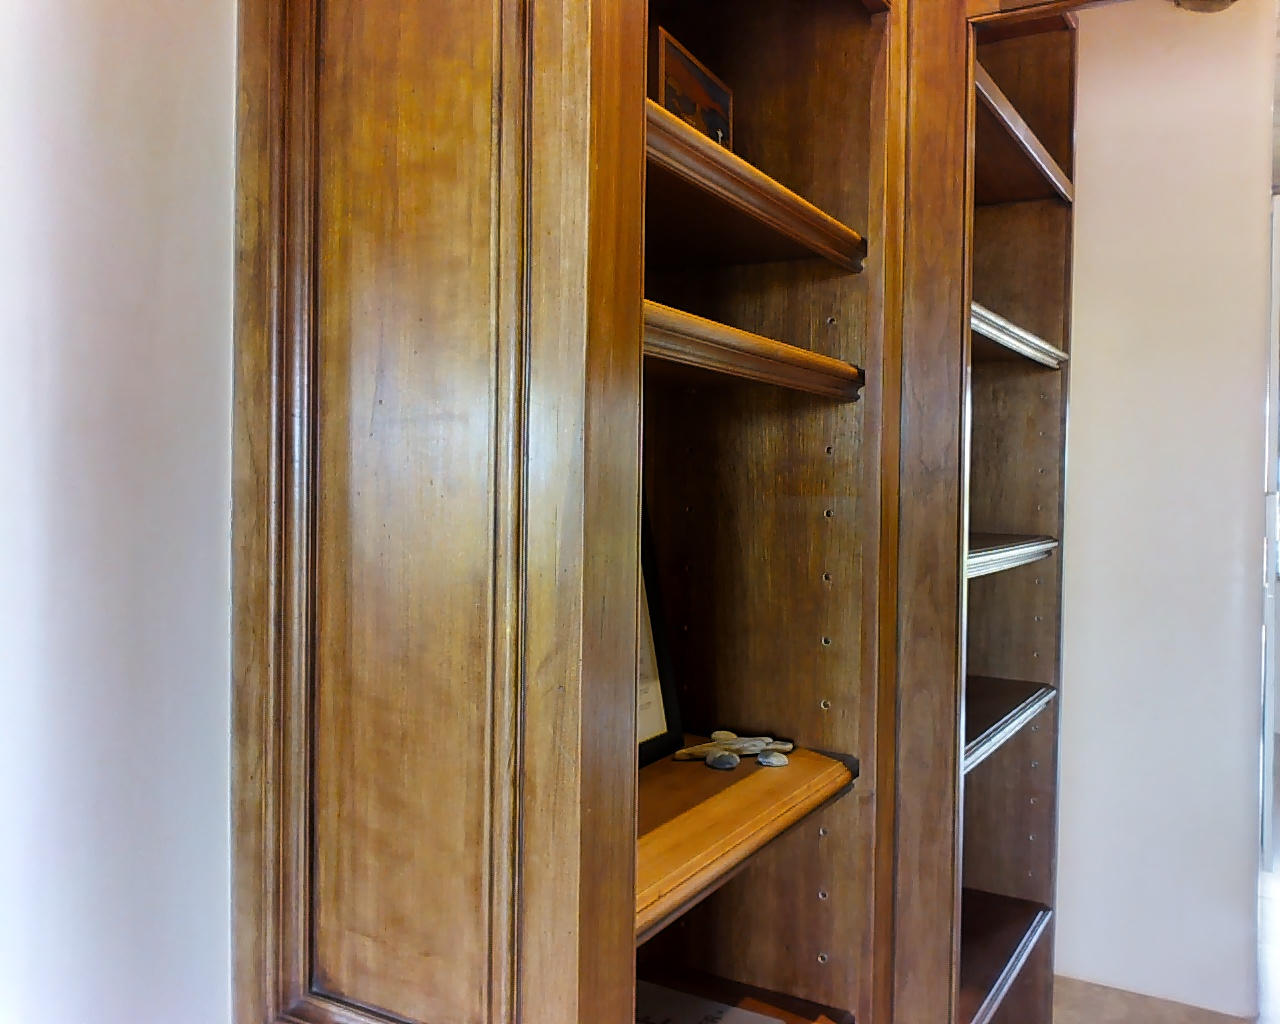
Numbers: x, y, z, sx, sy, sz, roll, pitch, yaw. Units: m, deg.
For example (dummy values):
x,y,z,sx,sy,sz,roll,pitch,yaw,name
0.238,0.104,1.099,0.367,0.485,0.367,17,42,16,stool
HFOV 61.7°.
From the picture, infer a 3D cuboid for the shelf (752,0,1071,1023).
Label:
x,y,z,sx,sy,sz,roll,pitch,yaw,name
0.540,0.200,2.000,0.320,2.421,0.820,1,1,31,shelf
